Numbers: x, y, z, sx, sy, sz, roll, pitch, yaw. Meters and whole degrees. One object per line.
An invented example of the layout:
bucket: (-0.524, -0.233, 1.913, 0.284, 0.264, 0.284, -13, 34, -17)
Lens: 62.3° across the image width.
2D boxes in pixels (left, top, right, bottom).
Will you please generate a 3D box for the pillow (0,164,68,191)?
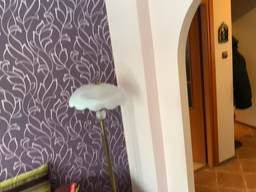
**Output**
pillow: (-0.800, 0.840, 1.710, 0.510, 0.500, 0.220, 9, 3, -25)
